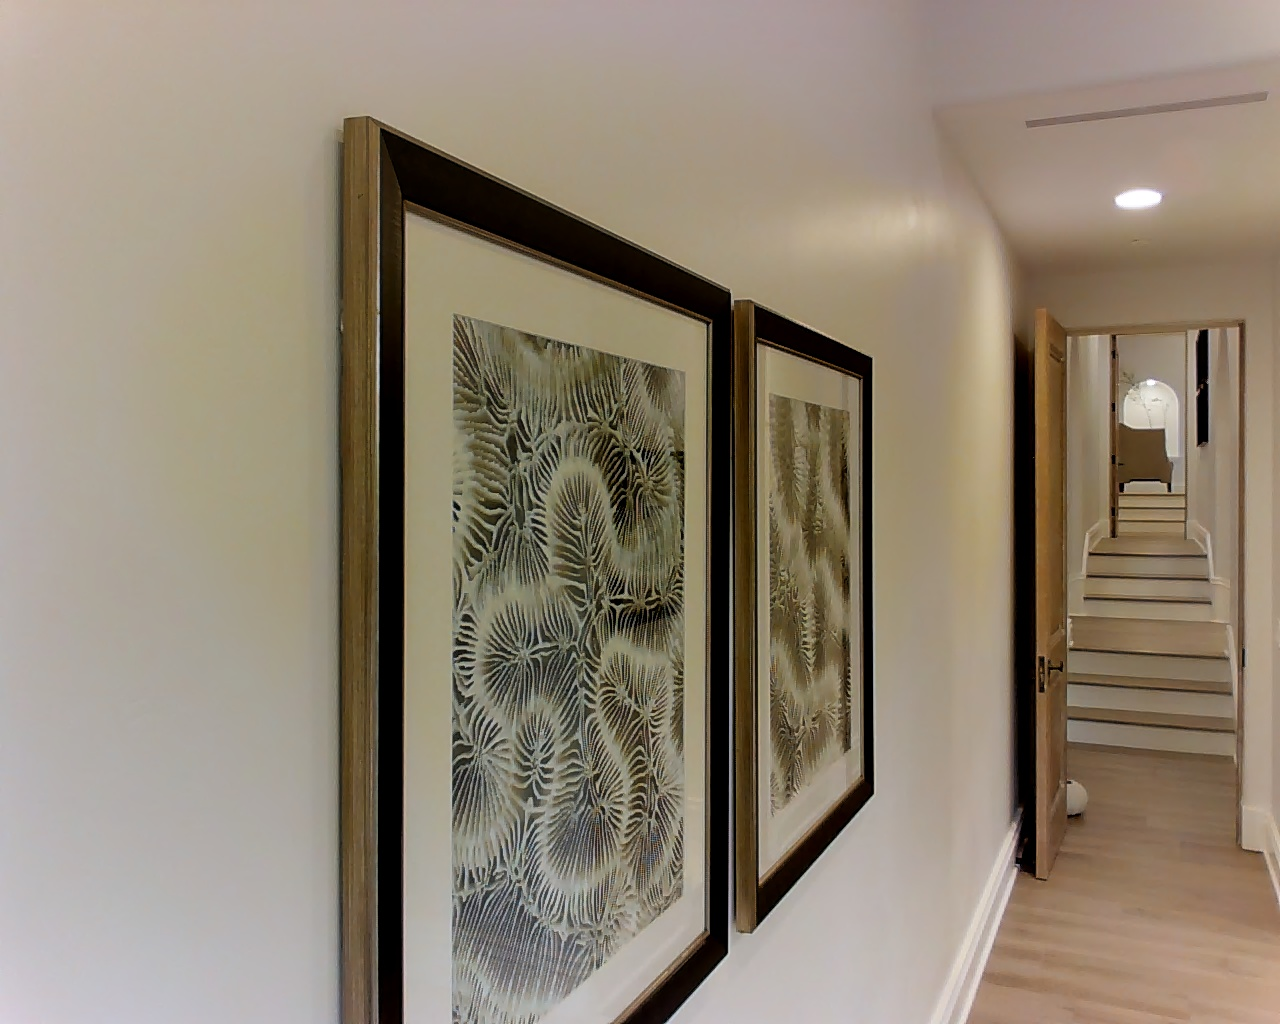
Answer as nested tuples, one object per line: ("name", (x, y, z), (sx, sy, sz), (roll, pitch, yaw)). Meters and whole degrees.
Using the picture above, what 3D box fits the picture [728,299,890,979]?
("picture", (0.320, 0.180, 1.870), (0.040, 0.960, 0.770), (1, 0, 26))

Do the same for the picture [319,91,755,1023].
("picture", (-0.040, 0.170, 1.130), (0.040, 0.940, 0.790), (1, 0, 26))
